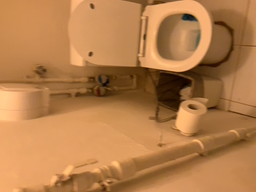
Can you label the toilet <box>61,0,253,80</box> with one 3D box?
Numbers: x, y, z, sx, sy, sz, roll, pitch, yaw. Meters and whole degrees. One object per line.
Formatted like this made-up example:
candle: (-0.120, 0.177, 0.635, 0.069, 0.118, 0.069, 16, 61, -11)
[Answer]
toilet: (0.150, -0.340, 1.250, 0.710, 0.830, 0.380, 19, 108, 49)
